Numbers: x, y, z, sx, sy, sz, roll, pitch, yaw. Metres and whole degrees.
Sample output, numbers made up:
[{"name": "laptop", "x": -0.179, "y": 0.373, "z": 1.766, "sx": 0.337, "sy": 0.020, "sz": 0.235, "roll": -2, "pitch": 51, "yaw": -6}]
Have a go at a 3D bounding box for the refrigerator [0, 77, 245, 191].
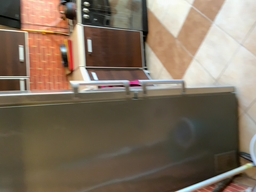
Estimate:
[{"name": "refrigerator", "x": -0.230, "y": 0.270, "z": 1.370, "sx": 0.660, "sy": 1.980, "sz": 0.700, "roll": 175, "pitch": 93, "yaw": -65}]
